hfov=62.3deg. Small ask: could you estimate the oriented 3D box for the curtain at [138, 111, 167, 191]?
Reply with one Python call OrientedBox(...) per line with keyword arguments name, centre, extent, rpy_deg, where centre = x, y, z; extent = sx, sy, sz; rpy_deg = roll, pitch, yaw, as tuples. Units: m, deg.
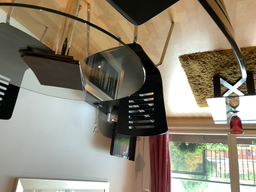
OrientedBox(name="curtain", centre=(0.430, 1.380, 3.820), extent=(0.400, 2.230, 0.250), rpy_deg=(-1, 159, 19))
